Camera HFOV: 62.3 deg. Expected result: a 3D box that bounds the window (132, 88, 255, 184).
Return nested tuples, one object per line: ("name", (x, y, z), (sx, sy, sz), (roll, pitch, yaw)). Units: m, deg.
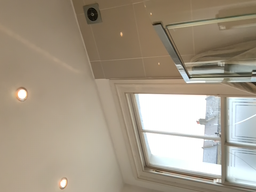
("window", (0.930, 0.400, 2.020), (0.070, 1.720, 1.030), (-52, -44, -51))
